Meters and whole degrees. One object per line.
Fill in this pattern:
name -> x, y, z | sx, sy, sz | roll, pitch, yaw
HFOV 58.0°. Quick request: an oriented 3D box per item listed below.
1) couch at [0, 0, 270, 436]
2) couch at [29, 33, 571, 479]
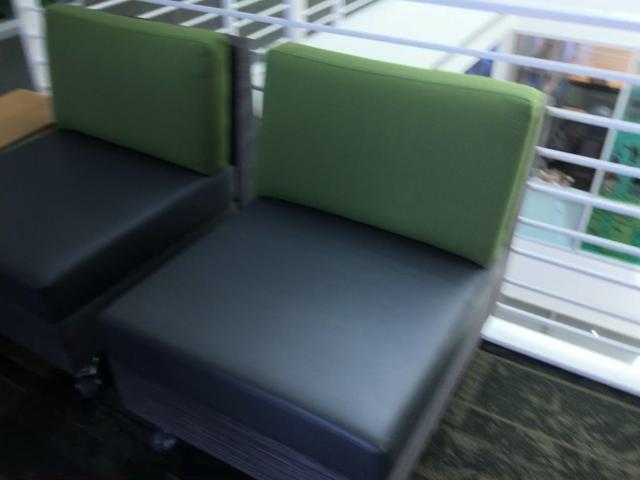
couch -> -0.670, -0.140, 1.640 | 0.700, 0.890, 0.710 | 18, 36, 30
couch -> 0.020, 0.080, 1.300 | 0.740, 0.860, 0.720 | 16, 35, 27
